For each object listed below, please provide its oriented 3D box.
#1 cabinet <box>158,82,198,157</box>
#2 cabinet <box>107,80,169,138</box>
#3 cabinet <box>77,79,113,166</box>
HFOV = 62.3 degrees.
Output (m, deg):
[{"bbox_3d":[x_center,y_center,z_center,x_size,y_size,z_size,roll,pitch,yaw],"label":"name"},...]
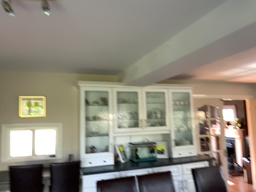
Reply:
[{"bbox_3d":[0.880,0.400,3.800,0.550,1.260,0.320,0,-6,-20],"label":"cabinet"},{"bbox_3d":[0.160,0.210,3.560,0.960,0.880,0.310,0,-6,-20],"label":"cabinet"},{"bbox_3d":[-0.520,0.390,3.300,0.490,1.260,0.290,0,-6,-20],"label":"cabinet"}]
